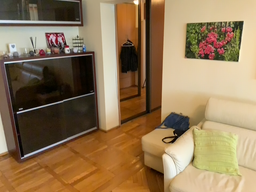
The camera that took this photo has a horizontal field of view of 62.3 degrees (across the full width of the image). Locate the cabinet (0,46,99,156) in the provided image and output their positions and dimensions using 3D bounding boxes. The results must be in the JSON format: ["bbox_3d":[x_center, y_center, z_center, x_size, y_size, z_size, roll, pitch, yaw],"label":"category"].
[{"bbox_3d":[-1.160,-0.040,3.220,0.460,1.320,1.380,14,21,41],"label":"cabinet"}]

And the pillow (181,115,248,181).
[{"bbox_3d":[0.790,0.480,1.960,0.490,0.510,0.200,16,55,35],"label":"pillow"}]
